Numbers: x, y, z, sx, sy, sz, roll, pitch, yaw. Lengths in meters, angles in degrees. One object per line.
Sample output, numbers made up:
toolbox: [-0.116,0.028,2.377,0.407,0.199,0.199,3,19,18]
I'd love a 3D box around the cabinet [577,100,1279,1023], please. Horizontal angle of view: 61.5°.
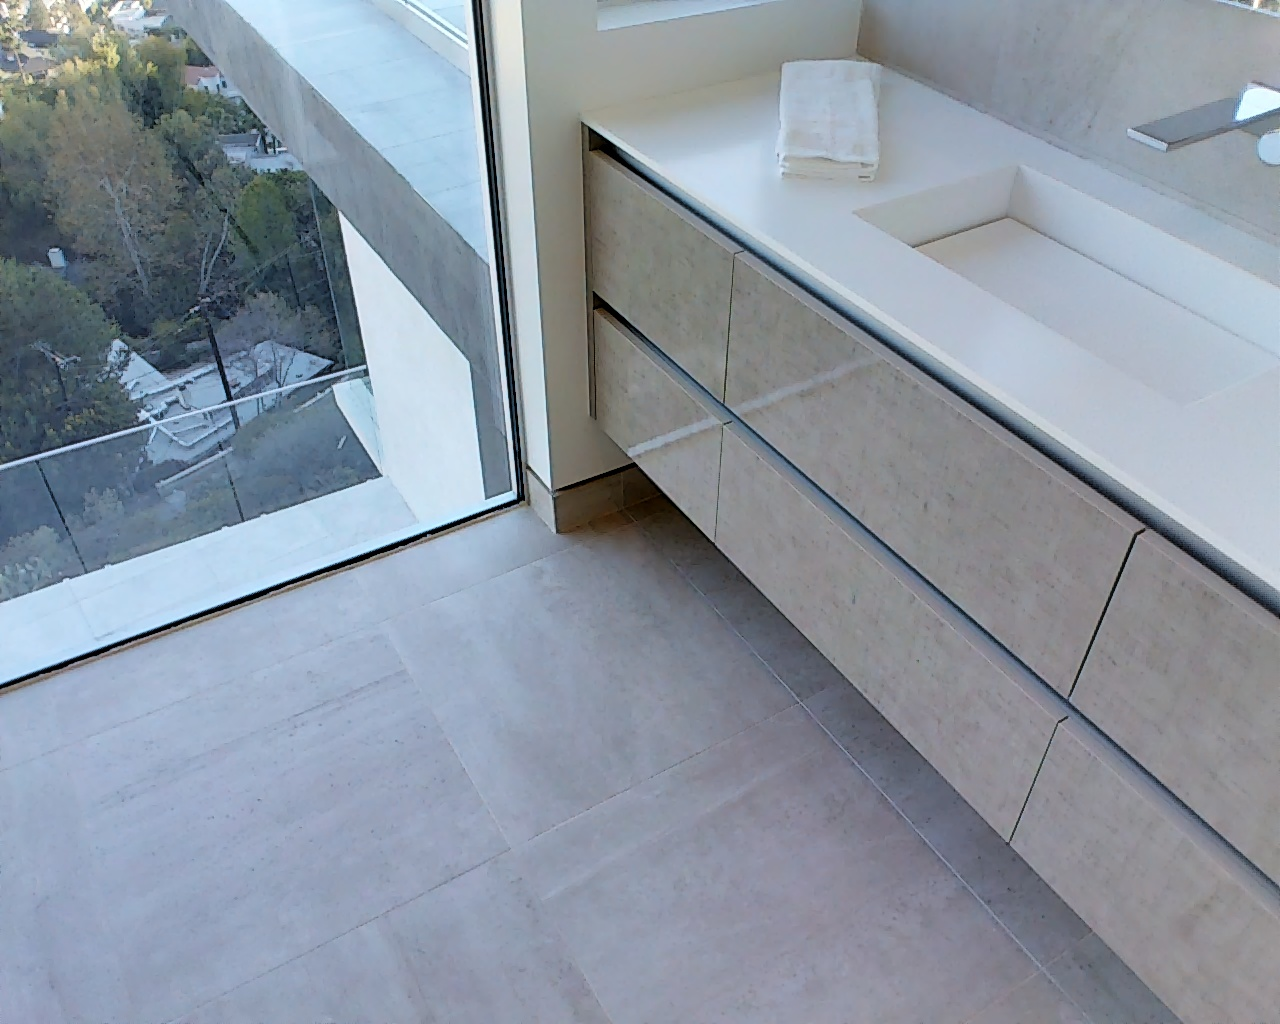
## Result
cabinet: [0.350,0.090,1.590,0.090,0.870,1.600,-22,46,-23]
